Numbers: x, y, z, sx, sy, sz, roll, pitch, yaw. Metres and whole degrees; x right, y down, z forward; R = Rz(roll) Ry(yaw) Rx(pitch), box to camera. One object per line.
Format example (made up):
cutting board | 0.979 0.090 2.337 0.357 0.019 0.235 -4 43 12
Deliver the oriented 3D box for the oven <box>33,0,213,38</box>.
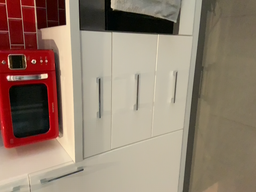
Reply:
oven | -0.020 -0.670 1.280 0.600 0.930 0.590 20 113 52
